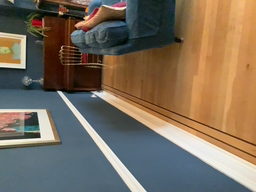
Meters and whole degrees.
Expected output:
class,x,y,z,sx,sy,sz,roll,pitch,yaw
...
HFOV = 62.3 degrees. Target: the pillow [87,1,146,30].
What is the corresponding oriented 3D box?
class,x,y,z,sx,sy,sz,roll,pitch,yaw
pillow,-0.120,-0.730,1.980,0.450,0.400,0.190,-155,60,-62
